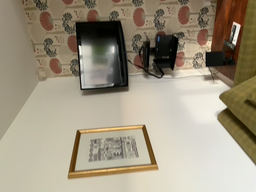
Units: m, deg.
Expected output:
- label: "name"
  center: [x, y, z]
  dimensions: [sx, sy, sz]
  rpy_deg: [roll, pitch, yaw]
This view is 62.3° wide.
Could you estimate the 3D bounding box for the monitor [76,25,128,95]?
- label: "monitor"
  center: [-0.290, -0.410, 2.360]
  dimensions: [0.070, 0.520, 0.770]
  rpy_deg: [107, 159, -79]
